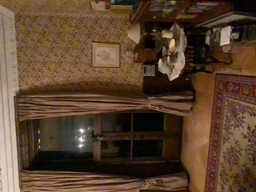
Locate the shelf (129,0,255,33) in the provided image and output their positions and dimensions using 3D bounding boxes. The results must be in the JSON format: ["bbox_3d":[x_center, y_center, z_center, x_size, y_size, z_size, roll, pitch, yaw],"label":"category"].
[{"bbox_3d":[0.740,-1.010,2.330,1.030,1.340,0.450,-126,37,-79],"label":"shelf"}]

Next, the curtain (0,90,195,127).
[{"bbox_3d":[-0.490,0.200,3.880,0.460,3.360,0.560,-132,42,-80],"label":"curtain"}]

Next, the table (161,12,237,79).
[{"bbox_3d":[0.950,-0.680,3.050,0.760,0.730,0.800,-126,37,-79],"label":"table"}]

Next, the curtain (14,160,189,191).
[{"bbox_3d":[-0.420,1.730,4.040,0.380,3.130,0.770,-153,63,-81],"label":"curtain"}]
